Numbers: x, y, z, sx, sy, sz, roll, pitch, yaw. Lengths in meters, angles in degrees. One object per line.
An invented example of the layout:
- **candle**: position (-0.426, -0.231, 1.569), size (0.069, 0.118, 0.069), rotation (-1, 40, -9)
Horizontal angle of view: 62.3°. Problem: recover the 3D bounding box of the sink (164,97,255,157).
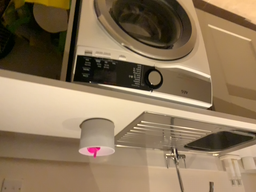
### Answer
- **sink**: position (0.550, 0.230, 1.360), size (0.400, 0.180, 0.500), rotation (11, 149, -22)
